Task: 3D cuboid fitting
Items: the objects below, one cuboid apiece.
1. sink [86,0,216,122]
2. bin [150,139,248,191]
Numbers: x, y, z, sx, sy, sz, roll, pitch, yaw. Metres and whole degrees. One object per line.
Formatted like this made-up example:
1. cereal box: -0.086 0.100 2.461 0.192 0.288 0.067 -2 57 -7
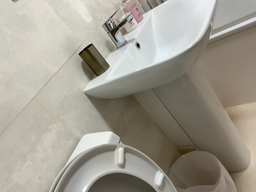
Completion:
1. sink: 0.130 -0.200 0.860 0.320 0.210 0.560 -16 35 41
2. bin: 0.340 0.410 0.980 0.270 0.320 0.270 -13 37 44
